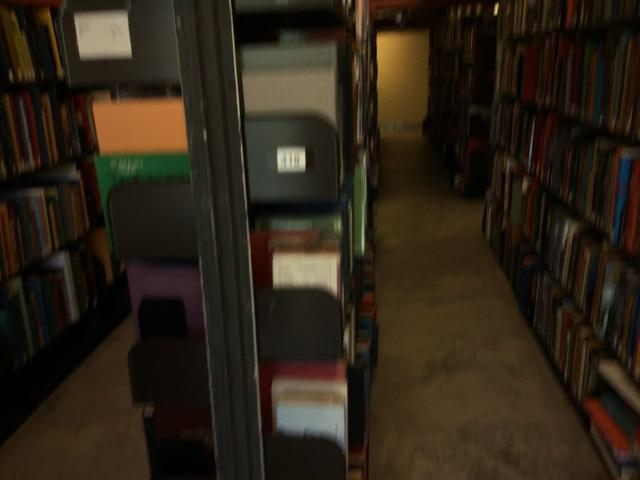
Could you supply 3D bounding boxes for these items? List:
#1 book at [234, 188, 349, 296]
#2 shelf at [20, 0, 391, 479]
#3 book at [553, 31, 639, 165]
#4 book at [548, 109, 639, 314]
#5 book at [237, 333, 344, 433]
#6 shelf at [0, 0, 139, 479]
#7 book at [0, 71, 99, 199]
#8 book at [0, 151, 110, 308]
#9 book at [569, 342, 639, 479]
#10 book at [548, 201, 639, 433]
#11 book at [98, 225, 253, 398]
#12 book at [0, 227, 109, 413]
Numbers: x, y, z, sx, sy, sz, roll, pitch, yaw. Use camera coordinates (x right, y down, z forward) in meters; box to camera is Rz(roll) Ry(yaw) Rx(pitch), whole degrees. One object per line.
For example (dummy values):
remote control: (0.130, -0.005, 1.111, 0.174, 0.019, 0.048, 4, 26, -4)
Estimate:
book: (-0.060, 0.000, 1.450, 0.240, 0.210, 0.220, 0, 18, 8)
shelf: (-0.120, -0.170, 1.940, 0.680, 2.070, 1.510, 0, 18, 8)
book: (1.120, -0.470, 1.840, 0.310, 0.380, 1.580, 0, 18, 8)
book: (1.110, -0.110, 1.900, 0.290, 0.480, 1.540, 0, 18, 8)
book: (-0.070, 0.370, 1.510, 0.250, 0.210, 0.130, 0, 18, 8)
shelf: (-1.490, -0.040, 2.280, 0.580, 1.860, 1.760, 0, 18, 8)
book: (-1.460, -0.380, 2.230, 0.390, 0.460, 1.590, 0, 18, 8)
book: (-1.410, 0.010, 2.330, 0.310, 0.470, 1.630, 0, 18, 8)
book: (1.150, 0.620, 1.990, 0.390, 0.310, 0.530, 0, 18, 8)
book: (1.140, 0.250, 1.950, 0.340, 0.420, 1.430, 0, 18, 8)
book: (-0.360, 0.180, 1.510, 0.300, 0.400, 0.190, 0, 18, 8)
book: (-1.420, 0.390, 2.340, 0.390, 0.480, 1.480, 0, 18, 8)
